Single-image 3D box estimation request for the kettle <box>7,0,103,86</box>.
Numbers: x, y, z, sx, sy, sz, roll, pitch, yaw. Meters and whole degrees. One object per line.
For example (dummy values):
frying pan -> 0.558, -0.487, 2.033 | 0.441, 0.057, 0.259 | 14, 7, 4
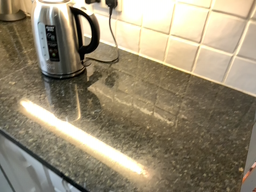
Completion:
kettle -> -0.210, -0.200, 0.670 | 0.200, 0.230, 0.170 | 22, 43, 19
